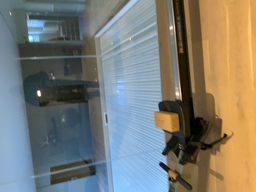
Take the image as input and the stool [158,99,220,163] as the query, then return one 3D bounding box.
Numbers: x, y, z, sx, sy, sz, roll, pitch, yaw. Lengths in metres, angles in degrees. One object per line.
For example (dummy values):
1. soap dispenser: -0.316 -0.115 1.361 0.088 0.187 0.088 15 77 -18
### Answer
1. stool: 0.470 0.250 1.670 0.310 0.330 0.390 -172 76 -68
